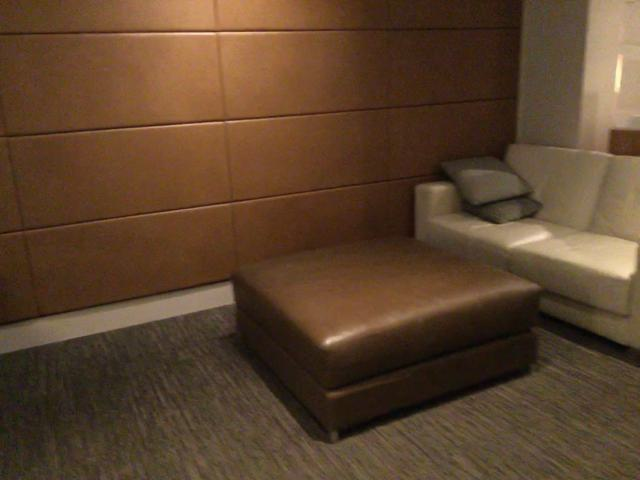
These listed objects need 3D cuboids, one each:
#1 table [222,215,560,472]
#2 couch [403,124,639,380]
[{"bbox_3d":[0.250,0.330,2.550,1.050,0.550,1.000,-16,14,-20],"label":"table"},{"bbox_3d":[1.360,-0.090,3.020,1.030,0.850,1.630,-16,14,-20],"label":"couch"}]
